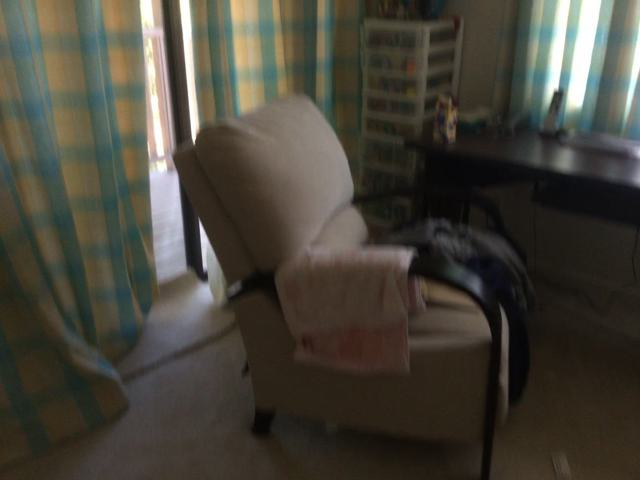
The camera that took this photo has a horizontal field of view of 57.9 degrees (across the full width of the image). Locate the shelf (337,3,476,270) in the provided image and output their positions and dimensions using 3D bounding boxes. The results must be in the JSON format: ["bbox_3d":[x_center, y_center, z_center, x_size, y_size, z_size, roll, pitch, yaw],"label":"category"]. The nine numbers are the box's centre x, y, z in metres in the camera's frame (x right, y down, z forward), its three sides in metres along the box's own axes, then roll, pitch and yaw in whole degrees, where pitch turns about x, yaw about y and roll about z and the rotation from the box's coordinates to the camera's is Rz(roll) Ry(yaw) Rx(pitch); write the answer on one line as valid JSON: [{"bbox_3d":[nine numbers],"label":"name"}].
[{"bbox_3d":[0.400,-0.520,2.830,0.460,1.170,0.440,17,29,35],"label":"shelf"}]

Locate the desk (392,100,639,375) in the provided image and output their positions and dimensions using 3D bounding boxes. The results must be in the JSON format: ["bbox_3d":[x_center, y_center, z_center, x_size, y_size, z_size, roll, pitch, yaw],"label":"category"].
[{"bbox_3d":[1.160,-0.030,2.200,1.610,0.730,0.700,17,29,35],"label":"desk"}]
